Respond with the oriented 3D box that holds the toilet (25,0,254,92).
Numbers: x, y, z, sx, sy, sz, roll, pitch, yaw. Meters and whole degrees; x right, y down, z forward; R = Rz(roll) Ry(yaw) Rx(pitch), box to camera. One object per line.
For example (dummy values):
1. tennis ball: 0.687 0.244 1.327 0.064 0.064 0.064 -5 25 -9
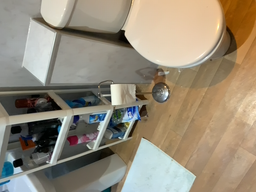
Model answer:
1. toilet: 0.100 -0.360 1.020 0.650 0.830 0.400 34 113 32
